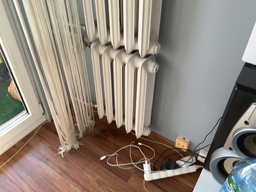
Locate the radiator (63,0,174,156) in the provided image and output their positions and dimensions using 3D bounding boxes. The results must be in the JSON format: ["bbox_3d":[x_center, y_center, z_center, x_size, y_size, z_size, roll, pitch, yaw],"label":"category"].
[{"bbox_3d":[-0.070,-0.240,1.210,0.540,1.290,0.190,27,47,28],"label":"radiator"}]
